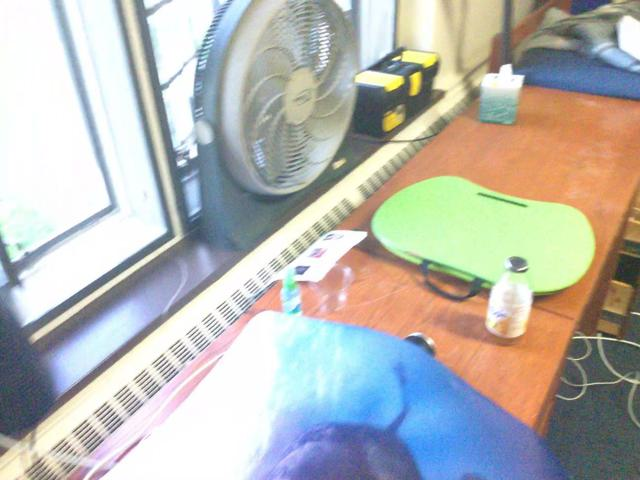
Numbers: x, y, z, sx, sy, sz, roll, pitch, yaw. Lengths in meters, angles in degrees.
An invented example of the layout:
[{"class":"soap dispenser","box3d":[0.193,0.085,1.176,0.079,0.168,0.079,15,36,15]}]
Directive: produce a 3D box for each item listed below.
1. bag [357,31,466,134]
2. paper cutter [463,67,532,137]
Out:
[{"class":"bag","box3d":[0.330,-0.560,2.010,0.180,0.200,0.430,17,41,33]},{"class":"paper cutter","box3d":[0.560,-0.440,1.830,0.150,0.150,0.160,17,41,33]}]
